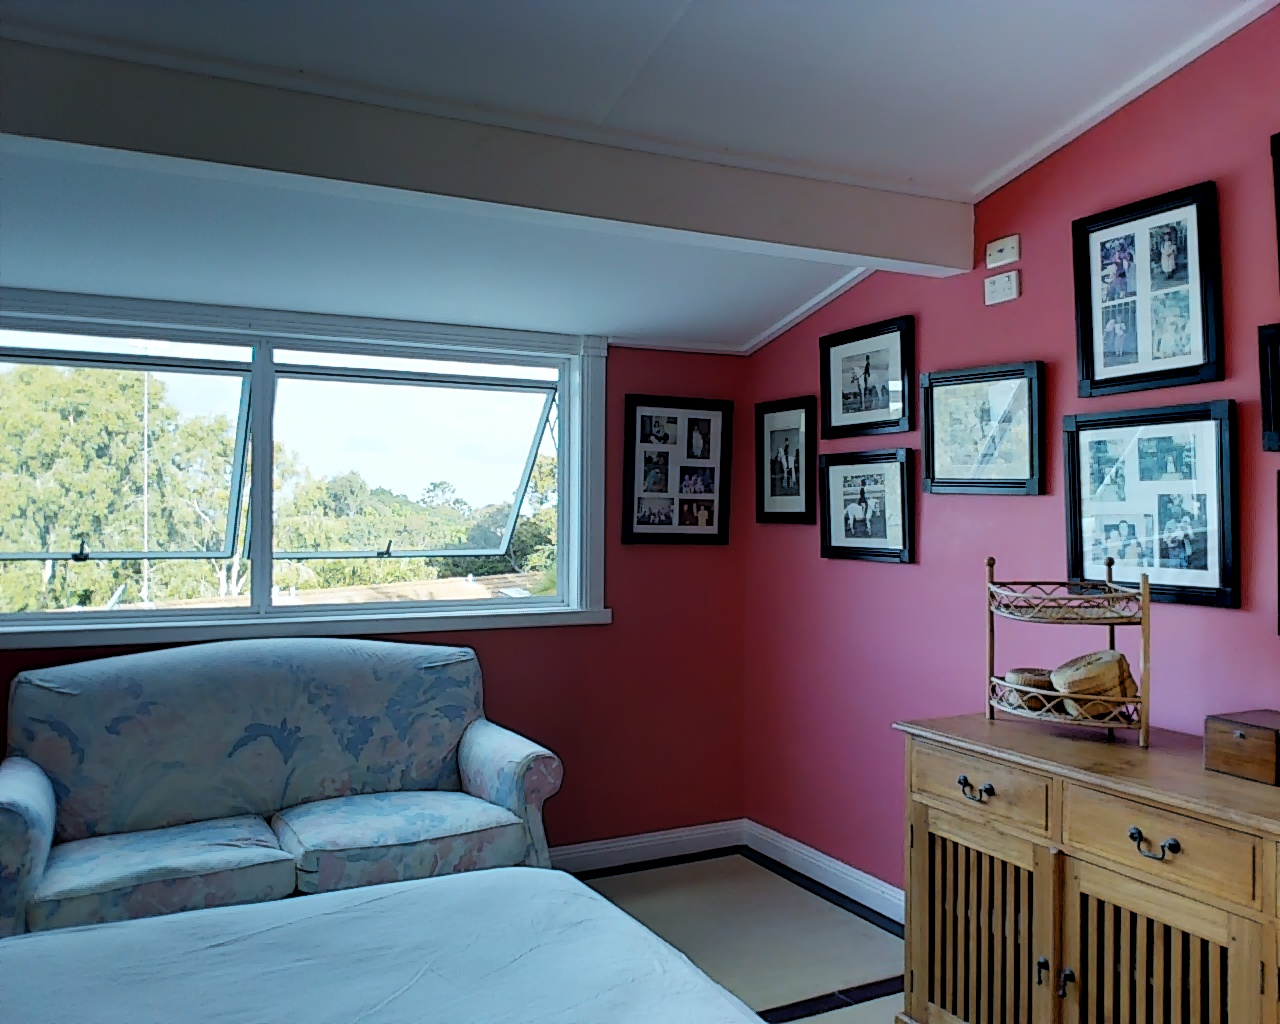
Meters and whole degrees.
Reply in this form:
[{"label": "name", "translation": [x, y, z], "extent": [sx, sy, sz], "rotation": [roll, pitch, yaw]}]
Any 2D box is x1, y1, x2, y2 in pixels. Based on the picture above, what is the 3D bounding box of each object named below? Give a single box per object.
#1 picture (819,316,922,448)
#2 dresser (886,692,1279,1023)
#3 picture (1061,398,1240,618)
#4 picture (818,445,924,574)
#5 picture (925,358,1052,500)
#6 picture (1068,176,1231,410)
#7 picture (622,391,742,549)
[{"label": "picture", "translation": [0.740, -0.410, 3.500], "extent": [0.030, 0.380, 0.480], "rotation": [0, 0, -26]}, {"label": "dresser", "translation": [1.250, 0.880, 1.820], "extent": [0.600, 0.820, 1.820], "rotation": [0, 0, -26]}, {"label": "picture", "translation": [1.200, -0.010, 2.560], "extent": [0.040, 0.480, 0.450], "rotation": [0, 0, -26]}, {"label": "picture", "translation": [0.740, -0.010, 3.490], "extent": [0.040, 0.390, 0.480], "rotation": [0, 0, -26]}, {"label": "picture", "translation": [0.970, -0.220, 3.030], "extent": [0.040, 0.370, 0.440], "rotation": [0, 0, -26]}, {"label": "picture", "translation": [1.200, -0.500, 2.560], "extent": [0.040, 0.480, 0.410], "rotation": [0, 0, -26]}, {"label": "picture", "translation": [0.160, -0.150, 4.000], "extent": [0.480, 0.570, 0.040], "rotation": [0, 0, -26]}]
